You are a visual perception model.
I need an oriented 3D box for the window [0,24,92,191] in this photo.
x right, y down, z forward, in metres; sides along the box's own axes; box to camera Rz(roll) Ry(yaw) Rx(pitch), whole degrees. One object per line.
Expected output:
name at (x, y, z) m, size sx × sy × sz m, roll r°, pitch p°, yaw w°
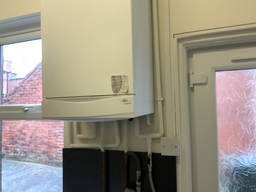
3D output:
window at (-0.800, 0.280, 1.680) m, size 1.000 × 1.470 × 0.300 m, roll -2°, pitch -3°, yaw 21°
